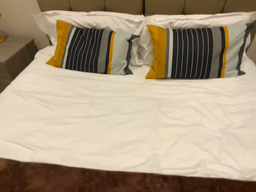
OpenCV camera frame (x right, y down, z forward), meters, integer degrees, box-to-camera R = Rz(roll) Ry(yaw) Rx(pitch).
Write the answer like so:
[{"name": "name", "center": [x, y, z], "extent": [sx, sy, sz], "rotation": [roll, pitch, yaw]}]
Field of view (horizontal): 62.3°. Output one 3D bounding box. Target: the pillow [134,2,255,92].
[{"name": "pillow", "center": [0.400, -0.260, 1.320], "extent": [0.640, 0.350, 0.160], "rotation": [-15, 52, 23]}]
